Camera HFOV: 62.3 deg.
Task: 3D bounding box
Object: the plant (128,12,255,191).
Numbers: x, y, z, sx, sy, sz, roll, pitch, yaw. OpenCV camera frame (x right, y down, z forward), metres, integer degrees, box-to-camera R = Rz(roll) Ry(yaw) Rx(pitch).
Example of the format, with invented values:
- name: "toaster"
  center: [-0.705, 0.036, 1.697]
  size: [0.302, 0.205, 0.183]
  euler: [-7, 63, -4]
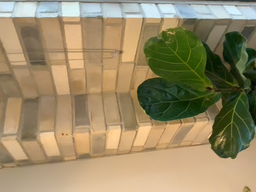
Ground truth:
- name: "plant"
  center: [0.440, 0.000, 0.890]
  size: [0.460, 0.770, 0.520]
  euler: [-177, 83, -78]
